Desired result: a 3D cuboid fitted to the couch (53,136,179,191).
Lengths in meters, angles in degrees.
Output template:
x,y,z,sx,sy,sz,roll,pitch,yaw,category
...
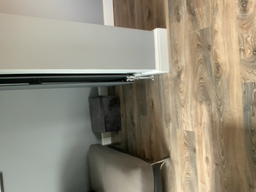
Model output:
x,y,z,sx,sy,sz,roll,pitch,yaw,category
-0.160,1.180,2.070,1.140,0.720,1.310,-2,93,56,couch
